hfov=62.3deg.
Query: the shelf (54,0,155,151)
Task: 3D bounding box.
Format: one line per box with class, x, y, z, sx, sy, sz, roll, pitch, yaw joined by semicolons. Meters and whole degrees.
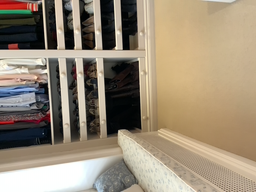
shelf;-0.330;-0.490;2.640;0.760;1.050;2.030;-173;80;-71
